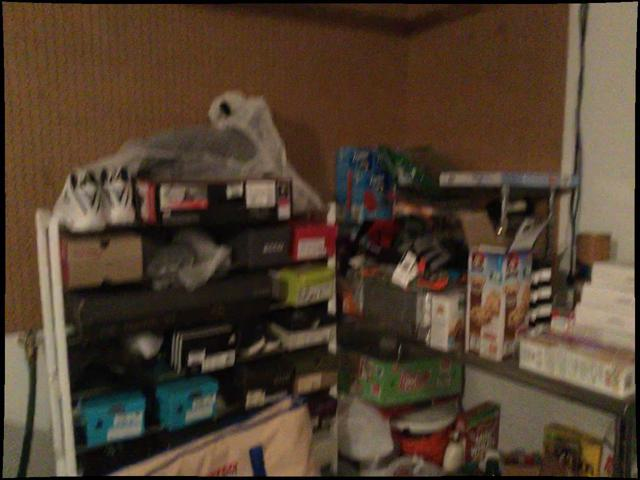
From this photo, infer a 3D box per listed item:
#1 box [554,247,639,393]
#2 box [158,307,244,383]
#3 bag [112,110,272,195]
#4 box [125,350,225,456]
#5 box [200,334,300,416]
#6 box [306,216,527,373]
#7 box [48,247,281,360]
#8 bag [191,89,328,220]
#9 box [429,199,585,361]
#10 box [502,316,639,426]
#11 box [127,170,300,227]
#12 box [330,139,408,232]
[{"bbox_3d":[0.849,0.200,1.530,0.300,0.300,0.300,-7,11,-37],"label":"box"},{"bbox_3d":[-0.360,0.310,1.750,0.190,0.150,0.180,-7,11,-37],"label":"box"},{"bbox_3d":[-0.370,-0.260,1.720,0.420,0.220,0.180,-7,11,-37],"label":"bag"},{"bbox_3d":[-0.440,0.480,1.750,0.210,0.200,0.230,-7,11,-37],"label":"box"},{"bbox_3d":[-0.240,0.440,1.940,0.190,0.140,0.330,-7,11,-37],"label":"box"},{"bbox_3d":[0.270,0.130,1.860,0.270,0.340,0.700,-7,11,-37],"label":"box"},{"bbox_3d":[-0.440,0.160,1.700,0.600,0.190,0.260,-7,11,-37],"label":"box"},{"bbox_3d":[-0.200,-0.280,1.910,0.330,0.380,0.310,-7,11,-37],"label":"bag"},{"bbox_3d":[0.529,0.090,1.650,0.330,0.380,0.270,-7,11,-37],"label":"box"},{"bbox_3d":[0.669,0.310,1.450,0.230,0.130,0.330,-7,11,-37],"label":"box"},{"bbox_3d":[-0.300,-0.130,1.670,0.440,0.130,0.210,-7,11,-37],"label":"box"},{"bbox_3d":[0.190,-0.220,2.260,0.230,0.340,0.190,-7,11,-37],"label":"box"}]
